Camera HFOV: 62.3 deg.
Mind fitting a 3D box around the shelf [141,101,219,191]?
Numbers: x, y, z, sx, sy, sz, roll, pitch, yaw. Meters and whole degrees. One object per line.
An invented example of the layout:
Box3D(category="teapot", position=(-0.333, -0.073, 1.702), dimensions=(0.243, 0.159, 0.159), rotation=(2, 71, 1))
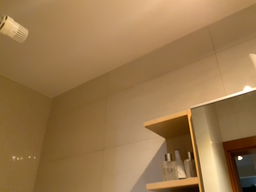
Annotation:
Box3D(category="shelf", position=(0.180, 0.370, 0.680), dimensions=(0.190, 0.660, 0.190), rotation=(-20, -36, 30))
